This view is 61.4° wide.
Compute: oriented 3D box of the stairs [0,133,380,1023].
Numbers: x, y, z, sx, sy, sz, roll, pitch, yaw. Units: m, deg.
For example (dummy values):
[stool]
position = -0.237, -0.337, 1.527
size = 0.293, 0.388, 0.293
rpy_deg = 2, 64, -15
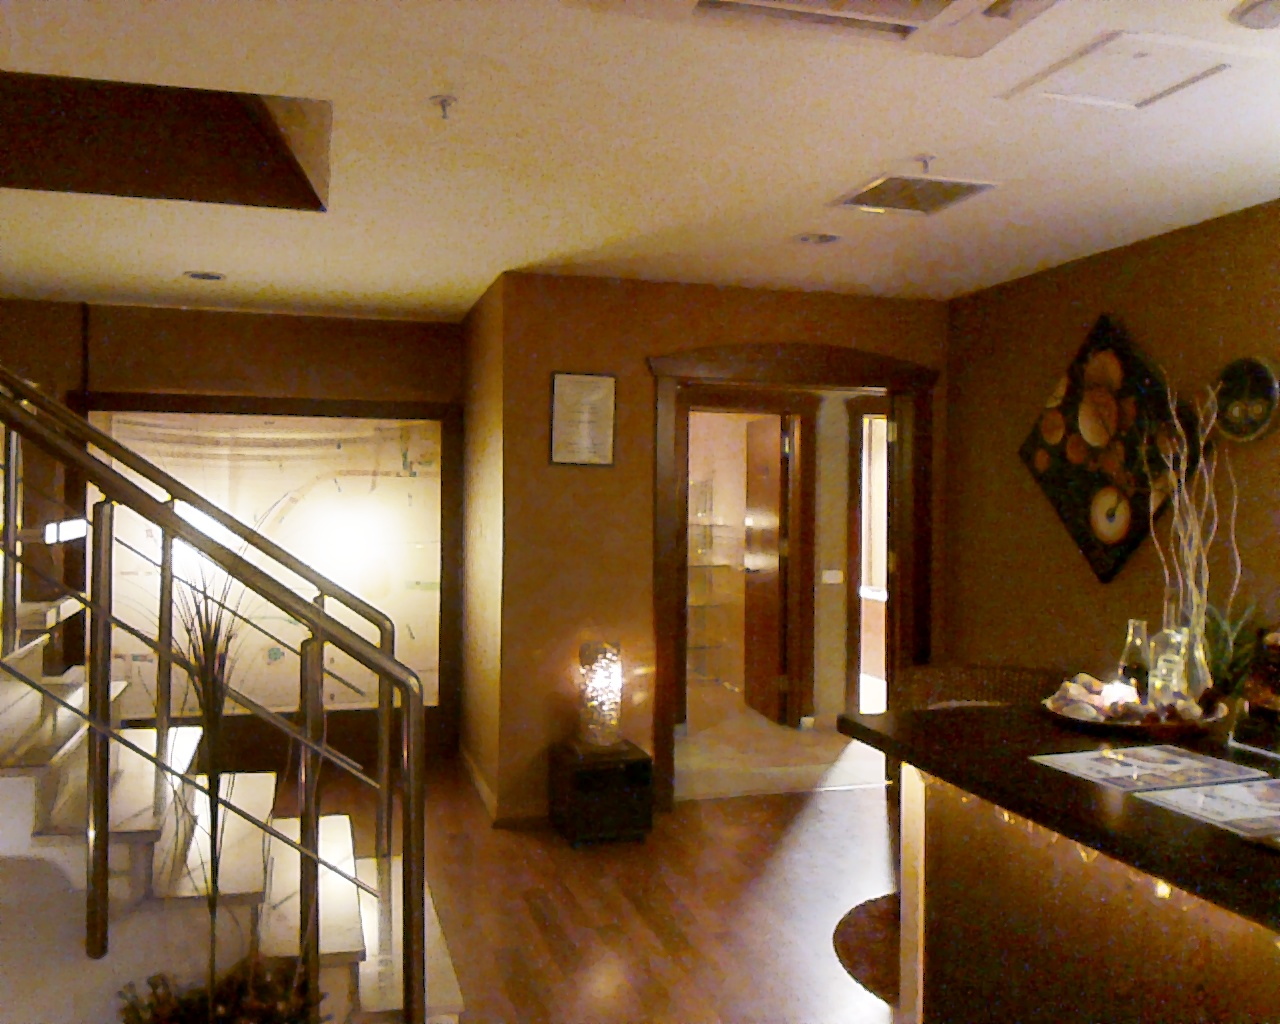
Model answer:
[stairs]
position = -2.509, 0.200, 3.060
size = 3.379, 2.230, 1.420
rpy_deg = 0, 0, -16
